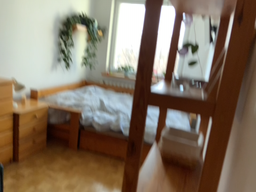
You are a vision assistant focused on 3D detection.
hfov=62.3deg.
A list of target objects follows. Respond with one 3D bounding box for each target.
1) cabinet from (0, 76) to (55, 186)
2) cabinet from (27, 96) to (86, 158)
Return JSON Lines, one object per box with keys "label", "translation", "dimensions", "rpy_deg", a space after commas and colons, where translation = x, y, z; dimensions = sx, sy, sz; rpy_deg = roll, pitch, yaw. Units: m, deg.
{"label": "cabinet", "translation": [-1.270, 0.330, 2.040], "dimensions": [0.410, 0.920, 1.090], "rpy_deg": [12, 14, 22]}
{"label": "cabinet", "translation": [-0.940, 0.370, 2.810], "dimensions": [0.470, 0.580, 0.550], "rpy_deg": [12, 14, 22]}
